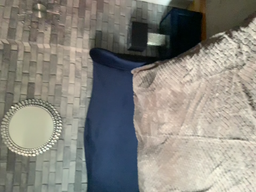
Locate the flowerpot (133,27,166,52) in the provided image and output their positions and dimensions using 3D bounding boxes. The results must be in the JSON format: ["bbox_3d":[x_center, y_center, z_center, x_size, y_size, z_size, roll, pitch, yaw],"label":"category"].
[{"bbox_3d":[0.270,-0.710,2.700,0.250,0.340,0.200,158,114,-72],"label":"flowerpot"}]
